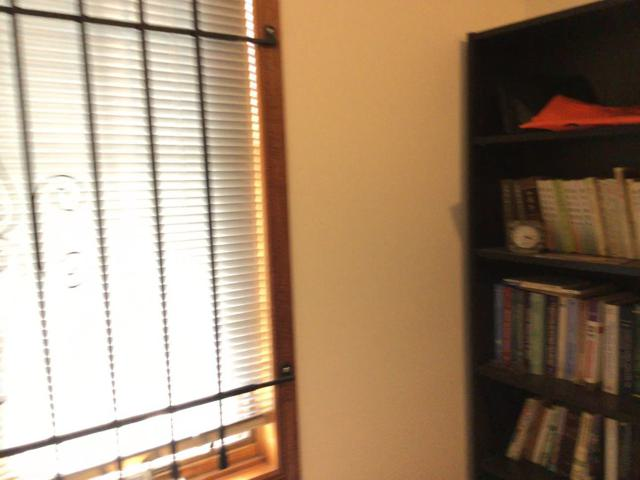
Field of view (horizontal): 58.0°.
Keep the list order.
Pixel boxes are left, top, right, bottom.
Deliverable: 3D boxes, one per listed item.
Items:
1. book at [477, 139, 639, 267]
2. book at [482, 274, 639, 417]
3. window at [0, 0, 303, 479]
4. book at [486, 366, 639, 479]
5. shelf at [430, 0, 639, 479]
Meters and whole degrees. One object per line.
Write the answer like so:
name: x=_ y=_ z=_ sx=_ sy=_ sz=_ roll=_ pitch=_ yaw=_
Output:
book: x=0.760 y=-0.090 z=1.390 sx=0.240 sy=0.280 sz=0.740 roll=-4 pitch=5 yaw=-38
book: x=0.780 y=0.260 z=1.420 sx=0.220 sy=0.270 sz=0.750 roll=-4 pitch=5 yaw=-38
window: x=-0.620 y=-0.040 z=0.990 sx=1.280 sy=1.390 sz=0.210 roll=-4 pitch=5 yaw=-38
book: x=0.800 y=0.540 z=1.460 sx=0.240 sy=0.250 sz=0.730 roll=-4 pitch=5 yaw=-38
shelf: x=0.730 y=0.420 z=1.420 sx=0.390 sy=1.990 sz=0.840 roll=-4 pitch=5 yaw=-38
